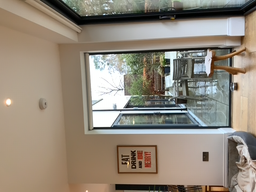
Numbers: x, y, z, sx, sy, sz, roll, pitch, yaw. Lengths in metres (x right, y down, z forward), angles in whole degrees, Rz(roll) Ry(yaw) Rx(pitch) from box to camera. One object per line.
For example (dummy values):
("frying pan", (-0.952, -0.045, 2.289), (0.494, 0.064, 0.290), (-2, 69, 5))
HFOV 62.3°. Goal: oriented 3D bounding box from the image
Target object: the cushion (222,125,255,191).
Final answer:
("cushion", (1.490, 0.960, 2.790), (0.800, 0.200, 0.990), (-39, -53, -83))
